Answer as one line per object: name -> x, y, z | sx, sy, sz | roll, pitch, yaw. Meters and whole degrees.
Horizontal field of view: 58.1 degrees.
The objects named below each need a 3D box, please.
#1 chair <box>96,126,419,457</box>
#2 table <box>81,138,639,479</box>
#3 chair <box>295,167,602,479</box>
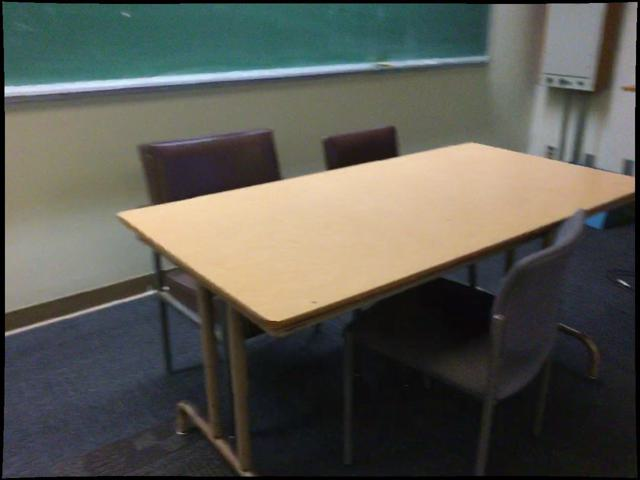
chair -> -0.209, 0.080, 2.040 | 0.799, 0.782, 0.709 | -17, 26, -38
table -> 0.239, 0.190, 1.920 | 1.628, 0.732, 0.909 | -17, 27, -38
chair -> 0.389, 0.241, 1.720 | 0.639, 0.712, 0.700 | 12, 24, 29
